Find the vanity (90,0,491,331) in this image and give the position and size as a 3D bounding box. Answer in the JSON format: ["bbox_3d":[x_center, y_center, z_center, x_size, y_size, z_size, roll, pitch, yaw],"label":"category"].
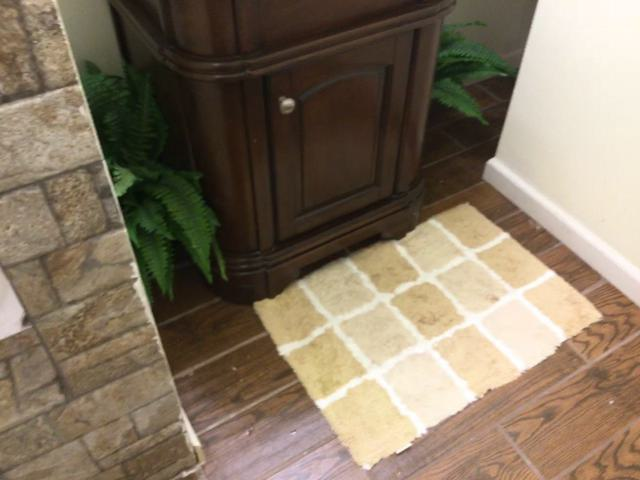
[{"bbox_3d":[-0.090,-0.390,1.440,0.710,0.900,0.570,-23,50,-21],"label":"vanity"}]

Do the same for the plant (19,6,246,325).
[{"bbox_3d":[-0.430,-0.190,1.340,0.250,0.440,0.580,-23,50,-21],"label":"plant"}]

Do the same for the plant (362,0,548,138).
[{"bbox_3d":[0.390,-0.540,1.760,0.320,0.170,0.440,-23,50,-21],"label":"plant"}]
